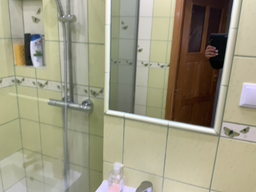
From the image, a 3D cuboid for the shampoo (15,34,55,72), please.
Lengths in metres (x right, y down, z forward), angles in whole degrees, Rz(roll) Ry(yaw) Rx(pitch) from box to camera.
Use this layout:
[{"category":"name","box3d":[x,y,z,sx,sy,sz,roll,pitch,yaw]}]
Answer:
[{"category":"shampoo","box3d":[-0.660,-0.310,1.510,0.250,0.240,0.080,8,17,18]}]
